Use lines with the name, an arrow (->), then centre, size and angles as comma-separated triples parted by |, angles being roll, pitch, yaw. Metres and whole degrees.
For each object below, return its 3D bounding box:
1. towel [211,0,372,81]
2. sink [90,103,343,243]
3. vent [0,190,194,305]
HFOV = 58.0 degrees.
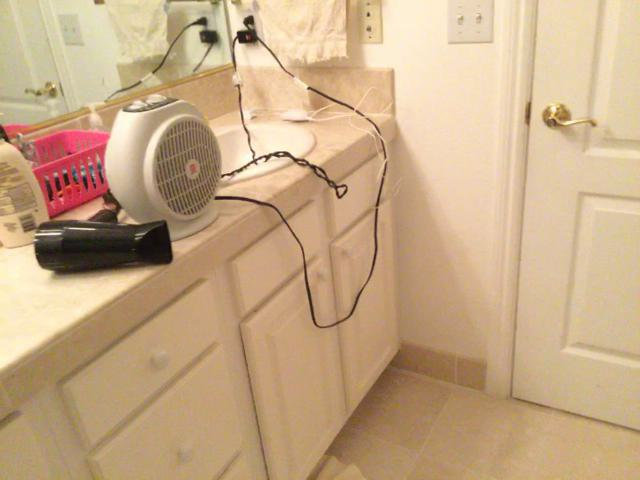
towel -> -0.090, -0.600, 1.620 | 0.450, 0.260, 0.090 | 6, 27, 33
sink -> -0.250, -0.190, 1.470 | 0.450, 0.210, 0.400 | 6, 27, 33
vent -> -0.390, 0.000, 0.960 | 0.310, 0.100, 0.170 | 6, 27, 33
